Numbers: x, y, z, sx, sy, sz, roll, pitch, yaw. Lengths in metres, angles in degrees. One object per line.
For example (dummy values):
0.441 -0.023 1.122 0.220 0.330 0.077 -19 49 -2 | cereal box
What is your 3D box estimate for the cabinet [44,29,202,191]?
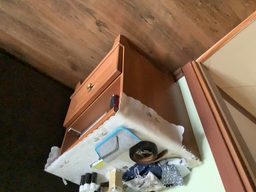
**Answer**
-0.030 0.090 1.020 0.410 0.560 0.450 33 123 -26 | cabinet
